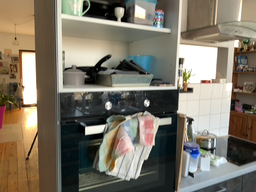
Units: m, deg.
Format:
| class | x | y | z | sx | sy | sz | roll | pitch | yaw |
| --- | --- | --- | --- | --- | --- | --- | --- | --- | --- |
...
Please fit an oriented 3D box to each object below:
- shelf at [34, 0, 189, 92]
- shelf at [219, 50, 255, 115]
| class | x | y | z | sx | sy | sz | roll | pitch | yaw |
| --- | --- | --- | --- | --- | --- | --- | --- | --- | --- |
| shelf | -0.130 | -0.430 | 1.160 | 0.650 | 0.740 | 0.600 | -2 | 8 | -29 |
| shelf | 2.130 | -0.240 | 3.660 | 0.190 | 1.070 | 1.070 | -2 | 8 | -29 |
